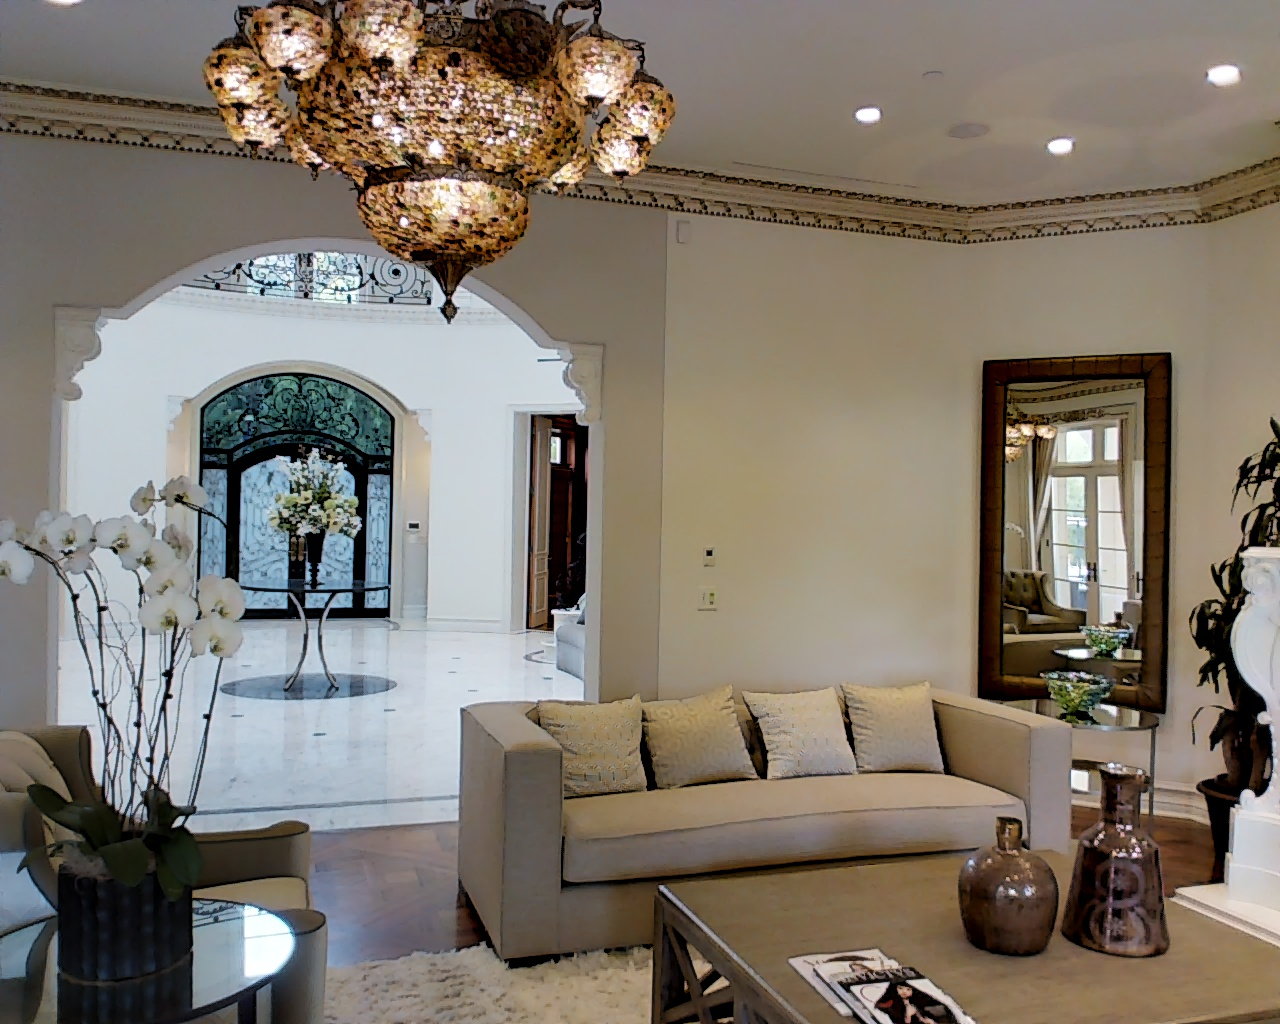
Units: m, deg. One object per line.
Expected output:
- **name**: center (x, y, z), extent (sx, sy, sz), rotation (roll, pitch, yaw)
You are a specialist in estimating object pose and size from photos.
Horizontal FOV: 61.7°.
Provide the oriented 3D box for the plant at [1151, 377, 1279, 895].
- **plant**: center (3.159, 0.560, 5.200), extent (0.740, 2.331, 0.940), rotation (1, 0, -18)
